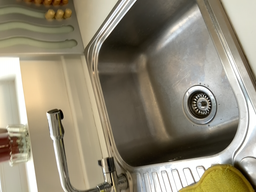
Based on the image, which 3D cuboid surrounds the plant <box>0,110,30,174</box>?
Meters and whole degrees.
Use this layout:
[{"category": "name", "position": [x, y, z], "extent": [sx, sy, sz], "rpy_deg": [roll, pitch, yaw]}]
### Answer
[{"category": "plant", "position": [-0.470, 0.170, 0.670], "extent": [0.220, 0.240, 0.170], "rpy_deg": [-31, 69, 51]}]

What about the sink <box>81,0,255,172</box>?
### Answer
[{"category": "sink", "position": [0.100, -0.060, 0.600], "extent": [0.520, 0.200, 0.460], "rpy_deg": [-31, 69, 51]}]
